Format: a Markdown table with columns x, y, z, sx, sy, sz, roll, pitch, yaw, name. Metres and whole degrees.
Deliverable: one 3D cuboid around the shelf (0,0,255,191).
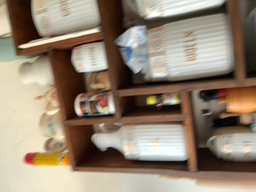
| x | y | z | sx | sy | sz | roll | pitch | yaw | name |
| --- | --- | --- | --- | --- | --- | --- | --- | --- | --- |
| 0.150 | -0.070 | 0.440 | 0.130 | 0.880 | 0.490 | -28 | -69 | -67 | shelf |
